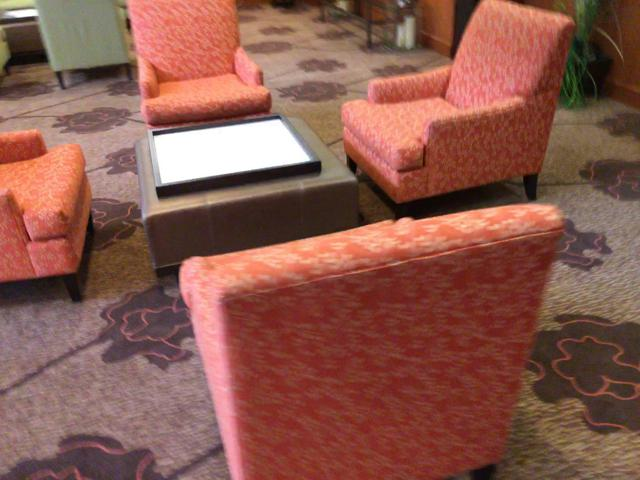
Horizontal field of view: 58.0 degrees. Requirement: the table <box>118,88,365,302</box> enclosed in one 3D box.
[{"bbox_3d":[-0.400,-0.280,2.740,0.930,0.460,0.950,-13,35,-14],"label":"table"}]
